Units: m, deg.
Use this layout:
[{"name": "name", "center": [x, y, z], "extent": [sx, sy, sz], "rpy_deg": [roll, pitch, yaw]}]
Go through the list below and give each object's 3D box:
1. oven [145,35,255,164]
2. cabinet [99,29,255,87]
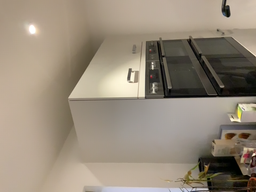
[{"name": "oven", "center": [0.610, -0.080, 1.970], "extent": [1.260, 0.880, 0.610], "rpy_deg": [-82, -10, -59]}, {"name": "cabinet", "center": [0.750, -0.470, 2.660], "extent": [0.350, 2.130, 0.570], "rpy_deg": [-82, -10, -59]}]
